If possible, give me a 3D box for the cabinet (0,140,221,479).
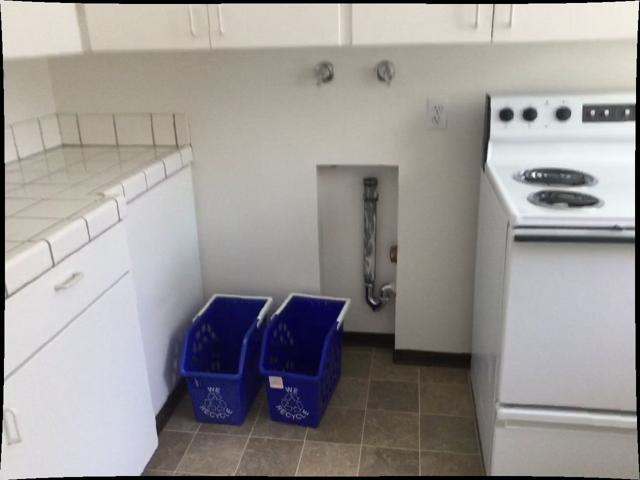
[{"bbox_3d":[-0.849,0.300,1.810,0.629,0.951,1.330,1,22,7],"label":"cabinet"}]

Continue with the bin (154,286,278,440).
[{"bbox_3d":[-0.379,0.461,2.270,0.319,0.371,0.490,1,22,7],"label":"bin"}]

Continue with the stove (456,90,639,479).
[{"bbox_3d":[0.918,0.160,1.820,0.819,1.132,0.770,1,22,7],"label":"stove"}]

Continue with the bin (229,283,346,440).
[{"bbox_3d":[-0.100,0.451,2.260,0.359,0.371,0.500,1,22,7],"label":"bin"}]
